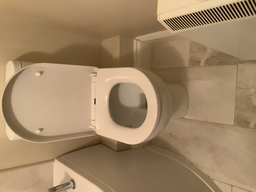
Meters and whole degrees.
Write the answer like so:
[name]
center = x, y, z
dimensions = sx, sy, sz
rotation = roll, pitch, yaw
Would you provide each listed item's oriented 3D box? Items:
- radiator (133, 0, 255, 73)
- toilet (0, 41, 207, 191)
[radiator]
center = 0.400, -0.170, 0.650
dimensions = 0.390, 0.690, 0.160
rotation = 6, 95, 46
[toilet]
center = -0.110, 0.030, 1.060
dimensions = 0.620, 0.860, 0.390
rotation = 5, 95, 46
